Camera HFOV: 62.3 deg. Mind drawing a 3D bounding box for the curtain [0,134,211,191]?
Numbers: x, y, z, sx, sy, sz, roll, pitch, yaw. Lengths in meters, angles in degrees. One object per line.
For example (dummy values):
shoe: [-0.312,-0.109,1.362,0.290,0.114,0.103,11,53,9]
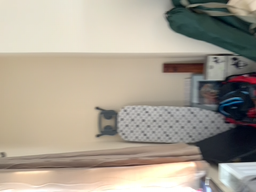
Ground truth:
curtain: [-0.280,0.400,1.240,0.460,1.360,0.200,-144,53,-84]
